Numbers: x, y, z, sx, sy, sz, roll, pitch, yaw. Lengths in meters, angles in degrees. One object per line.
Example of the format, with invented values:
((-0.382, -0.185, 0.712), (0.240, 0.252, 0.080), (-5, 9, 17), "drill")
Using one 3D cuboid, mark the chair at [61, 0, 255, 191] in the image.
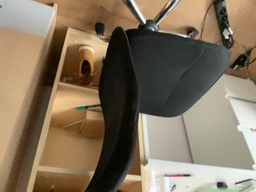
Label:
((0.130, -0.060, 0.840), (0.610, 0.960, 0.540), (10, 140, -15), "chair")
